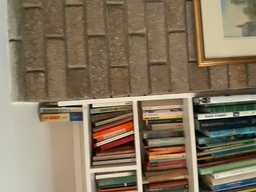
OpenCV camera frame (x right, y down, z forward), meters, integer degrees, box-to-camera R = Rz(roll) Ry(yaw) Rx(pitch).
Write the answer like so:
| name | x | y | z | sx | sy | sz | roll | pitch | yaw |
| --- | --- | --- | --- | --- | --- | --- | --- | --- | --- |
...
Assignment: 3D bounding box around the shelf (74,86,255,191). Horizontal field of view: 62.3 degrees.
| name | x | y | z | sx | sy | sz | roll | pitch | yaw |
| --- | --- | --- | --- | --- | --- | --- | --- | --- | --- |
| shelf | 0.370 | 0.580 | 1.000 | 0.230 | 1.120 | 1.230 | -157 | 64 | -87 |
